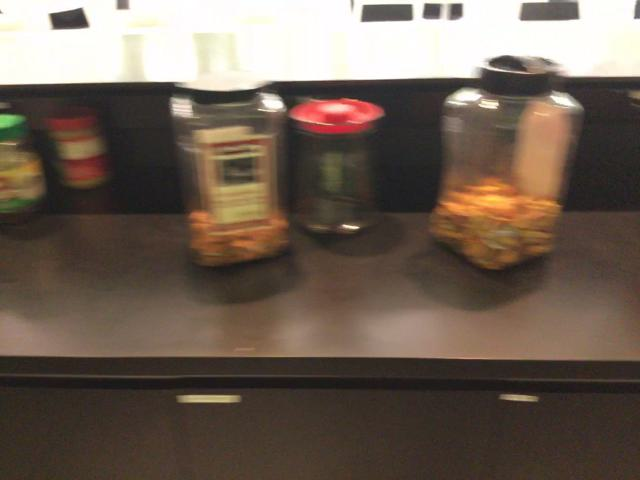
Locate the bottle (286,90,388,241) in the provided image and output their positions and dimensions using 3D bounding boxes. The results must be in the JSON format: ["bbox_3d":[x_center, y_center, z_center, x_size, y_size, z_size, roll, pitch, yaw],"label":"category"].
[{"bbox_3d":[0.030,-0.130,0.970,0.150,0.200,0.170,2,28,3],"label":"bottle"}]

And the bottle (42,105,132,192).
[{"bbox_3d":[-0.450,-0.180,1.130,0.110,0.140,0.100,2,28,3],"label":"bottle"}]
